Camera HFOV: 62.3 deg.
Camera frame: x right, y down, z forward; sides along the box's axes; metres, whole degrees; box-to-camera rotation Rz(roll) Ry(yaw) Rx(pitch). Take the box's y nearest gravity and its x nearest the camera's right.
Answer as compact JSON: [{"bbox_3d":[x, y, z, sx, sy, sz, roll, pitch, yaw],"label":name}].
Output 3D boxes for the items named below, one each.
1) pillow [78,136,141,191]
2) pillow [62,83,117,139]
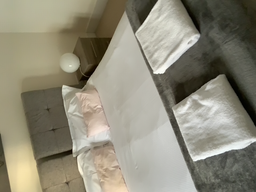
[{"bbox_3d":[-0.190,0.770,2.120,0.680,0.260,0.150,54,144,7],"label":"pillow"},{"bbox_3d":[-0.420,0.160,2.330,0.560,0.270,0.130,45,144,3],"label":"pillow"}]
